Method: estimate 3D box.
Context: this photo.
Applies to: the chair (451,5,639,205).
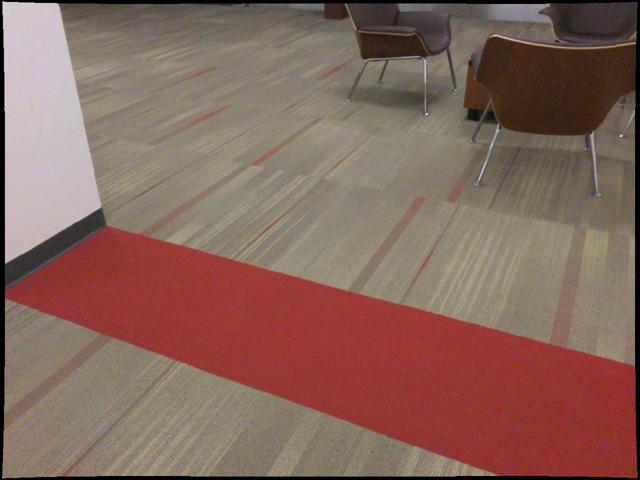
[{"bbox_3d":[1.207,-0.752,3.040,0.868,0.771,0.780,7,33,15],"label":"chair"}]
